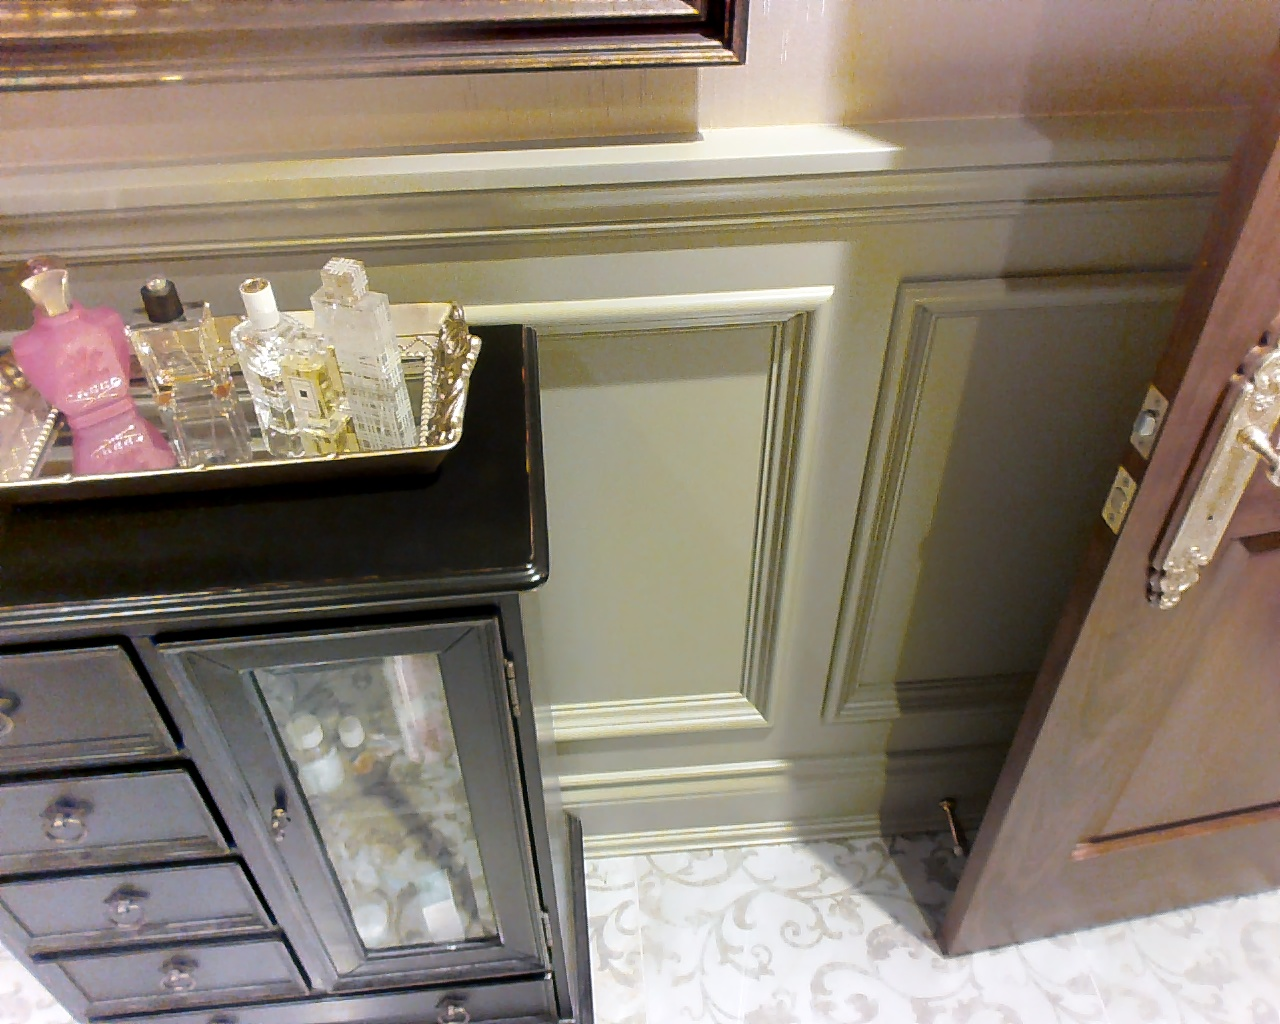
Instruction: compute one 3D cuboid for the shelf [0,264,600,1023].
[{"bbox_3d":[-0.370,0.270,1.140,0.610,0.960,0.360,-4,44,-3],"label":"shelf"}]
